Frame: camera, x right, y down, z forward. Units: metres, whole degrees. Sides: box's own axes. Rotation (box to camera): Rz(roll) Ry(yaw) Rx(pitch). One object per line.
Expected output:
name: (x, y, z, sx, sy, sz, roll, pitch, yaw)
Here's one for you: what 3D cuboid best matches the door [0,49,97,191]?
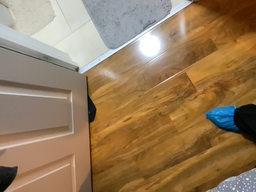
door: (-0.490, 0.210, 0.340, 0.020, 2.030, 0.760, -4, 86, 15)
